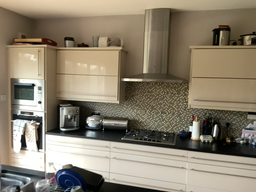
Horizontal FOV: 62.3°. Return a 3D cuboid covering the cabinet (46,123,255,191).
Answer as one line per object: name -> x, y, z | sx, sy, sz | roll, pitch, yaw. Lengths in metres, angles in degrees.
cabinet -> 0.310, 1.010, 2.880 | 2.930, 0.900, 0.610 | 4, 6, 18

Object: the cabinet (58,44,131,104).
cabinet -> -0.510, -0.340, 3.170 | 1.020, 0.800, 0.340 | 4, 6, 18

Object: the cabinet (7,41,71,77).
cabinet -> -1.350, -0.550, 3.280 | 0.690, 0.480, 0.600 | 4, 6, 18

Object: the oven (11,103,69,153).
oven -> -1.370, 0.470, 3.370 | 0.600, 0.610, 0.590 | 4, 6, 18
